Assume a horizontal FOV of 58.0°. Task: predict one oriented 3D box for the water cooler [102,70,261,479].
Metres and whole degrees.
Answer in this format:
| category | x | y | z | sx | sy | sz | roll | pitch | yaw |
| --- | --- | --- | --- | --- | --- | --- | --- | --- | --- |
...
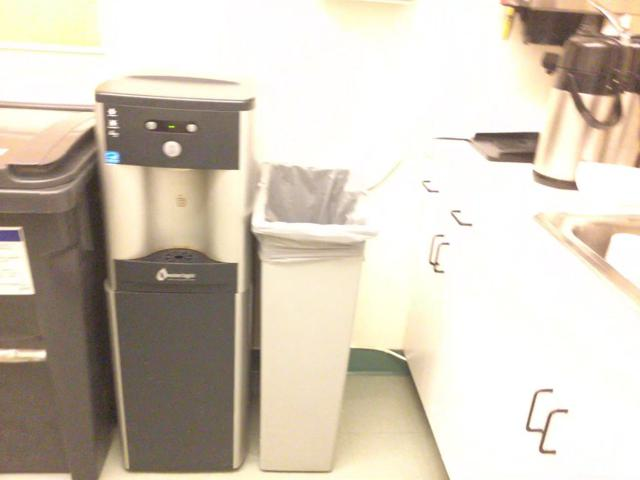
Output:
| category | x | y | z | sx | sy | sz | roll | pitch | yaw |
| --- | --- | --- | --- | --- | --- | --- | --- | --- | --- |
| water cooler | -0.330 | 0.130 | 1.470 | 0.310 | 1.040 | 0.260 | 1 | 23 | -9 |
